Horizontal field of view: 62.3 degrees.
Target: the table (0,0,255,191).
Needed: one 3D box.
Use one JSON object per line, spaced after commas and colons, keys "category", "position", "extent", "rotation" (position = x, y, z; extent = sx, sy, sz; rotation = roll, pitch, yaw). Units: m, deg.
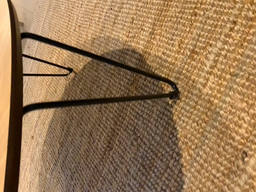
{"category": "table", "position": [-0.260, 0.190, 0.580], "extent": [0.800, 0.360, 0.810], "rotation": [36, 108, 47]}
